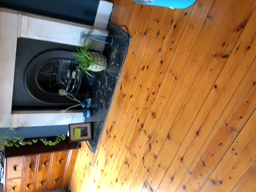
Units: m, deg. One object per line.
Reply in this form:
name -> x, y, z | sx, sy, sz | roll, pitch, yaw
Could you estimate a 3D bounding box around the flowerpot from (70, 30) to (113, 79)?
flowerpot -> -0.450, -0.490, 2.510 | 0.470, 0.300, 0.390 | 50, 129, 47
